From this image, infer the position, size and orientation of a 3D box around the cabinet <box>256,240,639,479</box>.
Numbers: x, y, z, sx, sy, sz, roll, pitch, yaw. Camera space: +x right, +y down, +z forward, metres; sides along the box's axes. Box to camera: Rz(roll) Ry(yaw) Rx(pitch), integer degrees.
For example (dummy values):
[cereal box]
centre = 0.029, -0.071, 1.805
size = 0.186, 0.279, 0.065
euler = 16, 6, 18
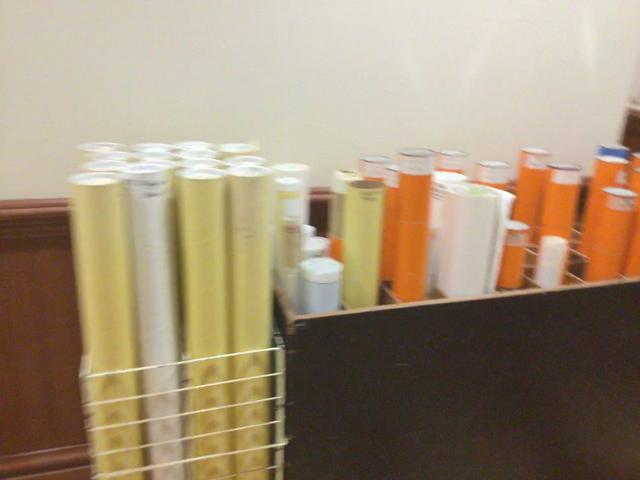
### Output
[cabinet]
centre = 0.470, 0.480, 1.550
size = 1.240, 0.830, 0.190
euler = -7, 21, -19
